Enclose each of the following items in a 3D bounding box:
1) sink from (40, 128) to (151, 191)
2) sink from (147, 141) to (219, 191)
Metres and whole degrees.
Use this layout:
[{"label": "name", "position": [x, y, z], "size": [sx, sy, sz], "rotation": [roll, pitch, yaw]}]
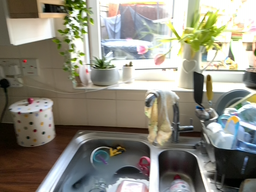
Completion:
[{"label": "sink", "position": [-0.090, 0.330, 0.860], "size": [0.360, 0.150, 0.500], "rotation": [2, 21, 5]}, {"label": "sink", "position": [0.190, 0.350, 0.810], "size": [0.230, 0.150, 0.390], "rotation": [2, 21, 5]}]
